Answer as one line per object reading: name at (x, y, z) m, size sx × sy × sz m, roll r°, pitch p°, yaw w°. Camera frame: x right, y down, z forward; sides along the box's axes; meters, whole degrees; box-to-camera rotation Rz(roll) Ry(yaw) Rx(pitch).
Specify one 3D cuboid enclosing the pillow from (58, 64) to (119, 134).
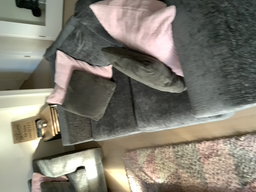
pillow at (-0.340, 0.030, 1.790) m, size 0.210 × 0.340 × 0.500 m, roll 41°, pitch 135°, yaw 3°

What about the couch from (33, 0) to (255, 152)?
couch at (-0.030, -0.200, 1.620) m, size 1.760 × 0.740 × 0.990 m, roll -22°, pitch 77°, yaw 49°

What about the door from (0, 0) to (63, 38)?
door at (-1.790, -1.250, 2.690) m, size 0.050 × 1.960 × 0.810 m, roll 23°, pitch 112°, yaw 47°

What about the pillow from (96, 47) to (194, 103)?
pillow at (0.090, -0.140, 1.160) m, size 0.410 × 0.320 × 0.130 m, roll 19°, pitch 123°, yaw 33°
